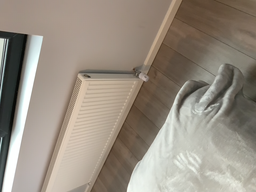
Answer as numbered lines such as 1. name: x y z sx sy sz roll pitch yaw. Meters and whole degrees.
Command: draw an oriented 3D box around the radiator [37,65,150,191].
1. radiator: -0.320 0.350 1.700 0.090 0.550 1.310 46 123 32
